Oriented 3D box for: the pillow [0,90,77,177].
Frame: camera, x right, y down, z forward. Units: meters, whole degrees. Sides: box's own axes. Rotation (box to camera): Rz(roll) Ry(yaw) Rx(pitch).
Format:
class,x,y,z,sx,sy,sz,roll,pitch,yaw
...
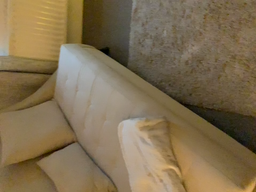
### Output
class,x,y,z,sx,sy,sz,roll,pitch,yaw
pillow,-0.740,0.230,1.560,0.540,0.460,0.170,31,134,31
